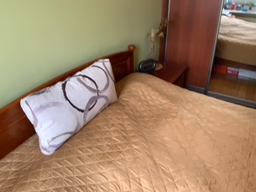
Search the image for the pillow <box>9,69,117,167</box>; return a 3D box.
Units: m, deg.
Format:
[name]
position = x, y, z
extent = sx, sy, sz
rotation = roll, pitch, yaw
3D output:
[pillow]
position = -0.350, 0.090, 1.330
extent = 0.270, 0.280, 0.590
rotation = 16, 34, 26
